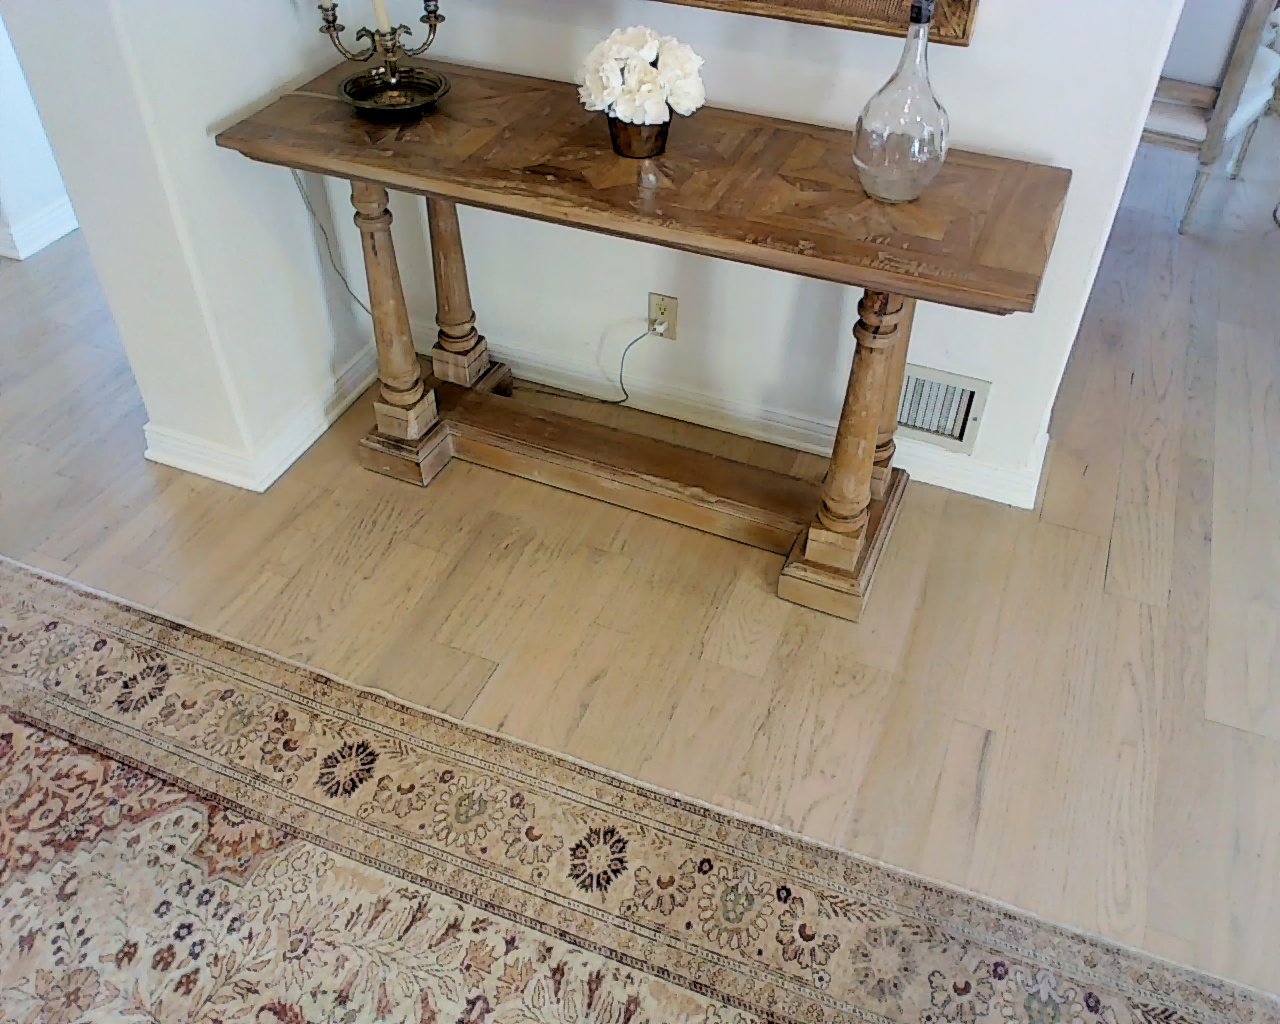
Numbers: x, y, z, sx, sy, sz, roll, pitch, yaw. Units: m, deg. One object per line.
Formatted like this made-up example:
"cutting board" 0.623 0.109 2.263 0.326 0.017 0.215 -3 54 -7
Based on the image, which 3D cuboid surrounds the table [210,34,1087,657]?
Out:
"table" 0.000 -0.390 2.280 1.540 0.820 0.550 16 45 17
